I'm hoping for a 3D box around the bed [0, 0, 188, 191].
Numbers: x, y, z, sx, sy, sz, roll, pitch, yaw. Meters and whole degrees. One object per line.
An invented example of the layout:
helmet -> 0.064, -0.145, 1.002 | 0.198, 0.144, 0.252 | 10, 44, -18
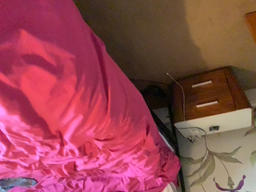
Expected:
bed -> -0.670, 0.120, 1.400 | 1.650, 0.740, 2.110 | -14, 149, 18
